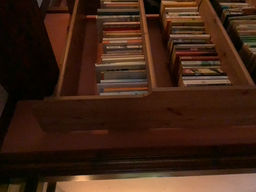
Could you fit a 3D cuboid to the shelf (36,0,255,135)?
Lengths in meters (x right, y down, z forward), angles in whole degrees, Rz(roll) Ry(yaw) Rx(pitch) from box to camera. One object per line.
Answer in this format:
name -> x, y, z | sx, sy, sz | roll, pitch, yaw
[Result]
shelf -> 0.630, -0.340, 1.110 | 0.360, 1.860, 0.960 | 92, 176, -53
